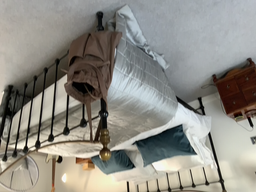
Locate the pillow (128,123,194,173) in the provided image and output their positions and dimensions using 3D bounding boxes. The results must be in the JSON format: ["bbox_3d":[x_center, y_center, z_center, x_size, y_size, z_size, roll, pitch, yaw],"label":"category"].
[{"bbox_3d":[0.340,0.540,2.200,0.580,0.300,0.180,-26,175,23],"label":"pillow"}]

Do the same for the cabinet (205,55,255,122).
[{"bbox_3d":[1.230,-0.060,2.370,0.470,0.510,0.370,-27,146,33],"label":"cabinet"}]

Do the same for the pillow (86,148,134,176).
[{"bbox_3d":[-0.240,0.840,2.670,0.610,0.270,0.120,-20,-171,36],"label":"pillow"}]
